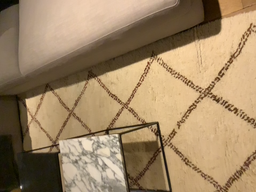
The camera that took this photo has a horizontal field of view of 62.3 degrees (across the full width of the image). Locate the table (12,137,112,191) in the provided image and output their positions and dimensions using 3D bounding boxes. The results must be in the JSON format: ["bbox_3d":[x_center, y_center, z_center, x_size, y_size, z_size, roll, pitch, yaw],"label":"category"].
[{"bbox_3d":[-0.420,0.530,1.390,0.420,0.410,0.420,-11,86,34],"label":"table"}]
